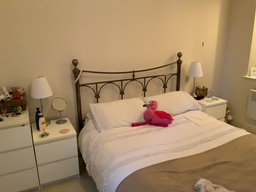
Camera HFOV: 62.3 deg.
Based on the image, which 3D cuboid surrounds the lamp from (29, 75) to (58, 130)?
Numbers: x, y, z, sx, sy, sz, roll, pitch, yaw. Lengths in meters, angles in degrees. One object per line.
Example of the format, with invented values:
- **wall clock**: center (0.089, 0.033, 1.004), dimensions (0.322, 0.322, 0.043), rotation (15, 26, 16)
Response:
- **lamp**: center (-0.910, 0.060, 2.290), dimensions (0.220, 0.530, 0.210), rotation (-9, 19, -24)

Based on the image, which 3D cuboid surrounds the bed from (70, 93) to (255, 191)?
- **bed**: center (0.550, 0.620, 2.150), dimensions (1.760, 0.550, 2.130), rotation (-9, 19, -25)
